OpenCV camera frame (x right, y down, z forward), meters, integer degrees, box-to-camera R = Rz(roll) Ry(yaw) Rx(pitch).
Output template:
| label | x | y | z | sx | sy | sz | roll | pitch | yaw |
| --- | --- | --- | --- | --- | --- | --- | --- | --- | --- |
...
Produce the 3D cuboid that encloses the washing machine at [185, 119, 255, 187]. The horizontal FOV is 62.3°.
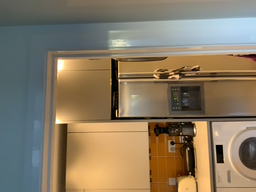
| label | x | y | z | sx | sy | sz | roll | pitch | yaw |
| --- | --- | --- | --- | --- | --- | --- | --- | --- | --- |
| washing machine | 1.180 | 0.570 | 2.290 | 0.710 | 0.920 | 0.600 | 78 | -169 | -81 |
